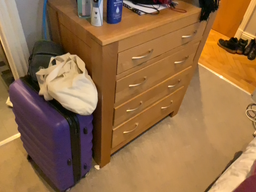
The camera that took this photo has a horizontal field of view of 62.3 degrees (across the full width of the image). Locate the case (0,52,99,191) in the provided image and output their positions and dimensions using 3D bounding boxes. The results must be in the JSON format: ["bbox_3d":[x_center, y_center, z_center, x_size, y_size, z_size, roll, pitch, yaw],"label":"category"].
[{"bbox_3d":[-0.470,0.190,1.280,0.310,0.650,0.560,-30,55,-32],"label":"case"}]
